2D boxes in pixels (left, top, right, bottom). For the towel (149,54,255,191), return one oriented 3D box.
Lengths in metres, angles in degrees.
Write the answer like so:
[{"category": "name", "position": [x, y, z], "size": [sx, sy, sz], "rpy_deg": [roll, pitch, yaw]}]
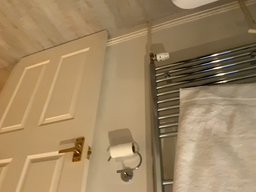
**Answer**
[{"category": "towel", "position": [0.400, 0.130, 0.790], "size": [0.610, 0.620, 0.120], "rpy_deg": [-11, 140, 17]}]
